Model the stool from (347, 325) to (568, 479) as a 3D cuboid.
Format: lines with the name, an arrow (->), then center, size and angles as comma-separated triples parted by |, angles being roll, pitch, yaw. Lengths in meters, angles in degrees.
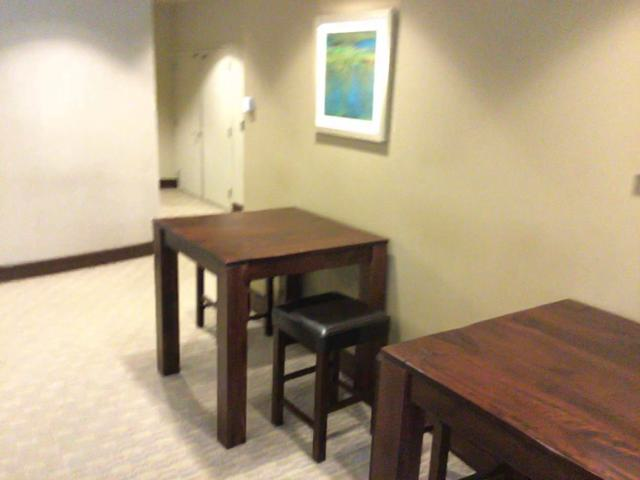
stool -> 0.520, 0.770, 2.280 | 0.610, 0.660, 0.490 | -3, 15, -34

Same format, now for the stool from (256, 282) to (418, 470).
stool -> 0.070, 0.610, 2.770 | 0.570, 0.670, 0.430 | -3, 15, -34

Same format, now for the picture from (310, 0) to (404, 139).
picture -> 0.170, -0.870, 2.970 | 0.120, 0.650, 0.620 | -3, 7, -34
